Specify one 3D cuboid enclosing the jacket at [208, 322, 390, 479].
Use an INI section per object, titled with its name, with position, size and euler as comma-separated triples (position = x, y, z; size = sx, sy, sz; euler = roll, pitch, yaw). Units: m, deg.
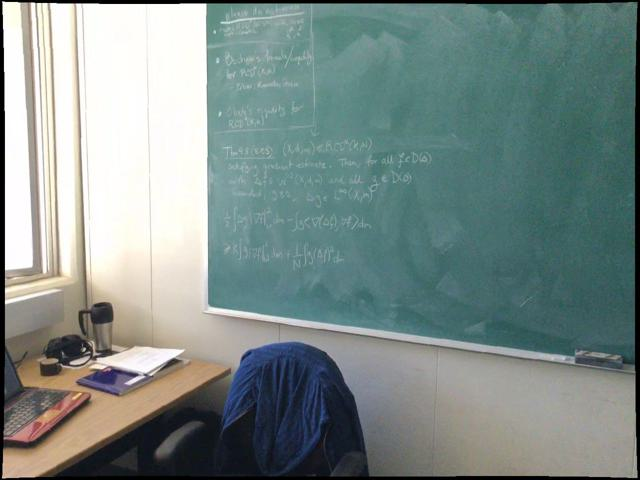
[jacket]
position = -0.060, 0.792, 2.040
size = 0.519, 0.882, 0.360
euler = 3, 9, 23
